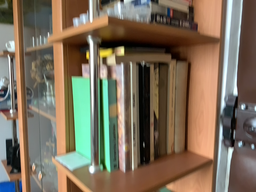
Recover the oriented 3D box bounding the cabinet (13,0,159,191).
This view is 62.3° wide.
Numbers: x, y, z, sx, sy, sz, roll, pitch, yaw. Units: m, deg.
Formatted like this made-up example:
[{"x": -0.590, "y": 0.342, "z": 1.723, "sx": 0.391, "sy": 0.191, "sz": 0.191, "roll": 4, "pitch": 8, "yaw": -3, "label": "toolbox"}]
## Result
[{"x": -0.270, "y": 0.340, "z": 1.100, "sx": 0.390, "sy": 1.870, "sz": 0.700, "roll": -4, "pitch": 9, "yaw": -39, "label": "cabinet"}]
